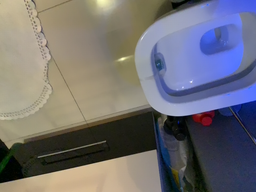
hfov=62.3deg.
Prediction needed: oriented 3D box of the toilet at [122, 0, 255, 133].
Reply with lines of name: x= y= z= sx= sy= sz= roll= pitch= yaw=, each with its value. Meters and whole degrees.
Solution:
toilet: x=0.300 y=-0.180 z=0.770 sx=0.530 sy=0.340 sz=0.390 roll=-15 pitch=118 yaw=10
